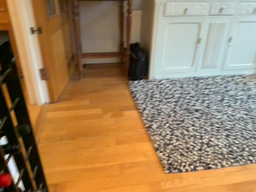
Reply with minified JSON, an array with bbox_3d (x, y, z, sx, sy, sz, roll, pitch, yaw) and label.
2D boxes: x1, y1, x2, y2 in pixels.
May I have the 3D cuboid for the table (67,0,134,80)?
[{"bbox_3d":[-0.300,-0.770,2.300,0.610,1.030,0.530,-5,30,-10],"label":"table"}]
